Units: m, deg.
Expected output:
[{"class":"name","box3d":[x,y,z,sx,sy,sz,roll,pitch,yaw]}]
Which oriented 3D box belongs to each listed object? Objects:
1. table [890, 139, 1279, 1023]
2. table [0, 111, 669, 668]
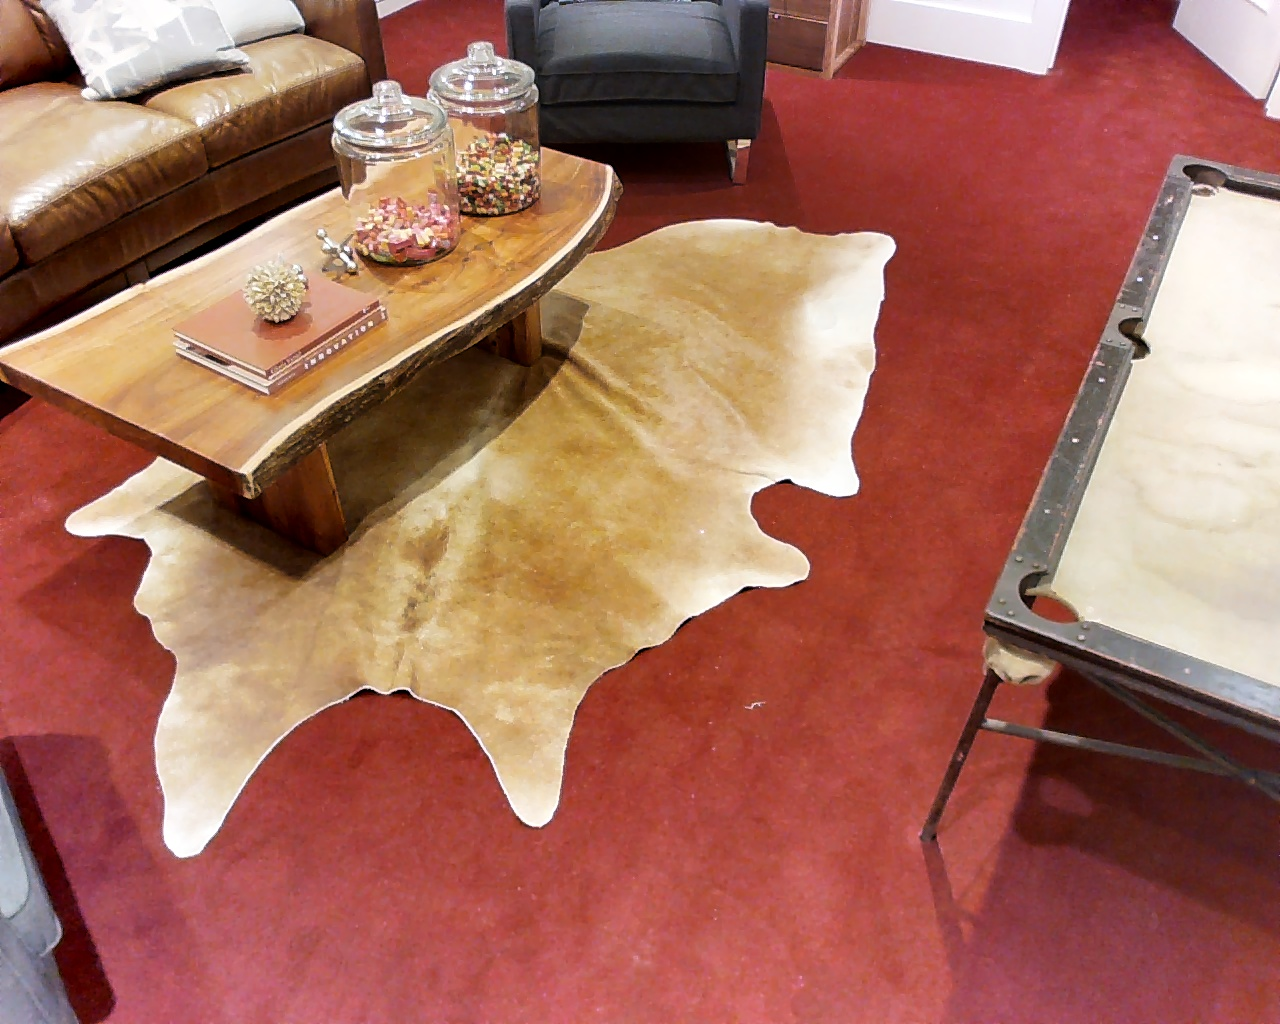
[{"class":"table","box3d":[1.050,0.060,1.720,0.760,0.670,1.390,21,46,21]},{"class":"table","box3d":[-0.570,-0.380,2.420,0.730,0.450,1.310,21,46,21]}]
